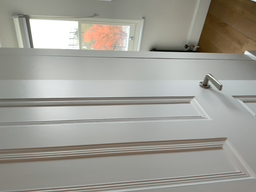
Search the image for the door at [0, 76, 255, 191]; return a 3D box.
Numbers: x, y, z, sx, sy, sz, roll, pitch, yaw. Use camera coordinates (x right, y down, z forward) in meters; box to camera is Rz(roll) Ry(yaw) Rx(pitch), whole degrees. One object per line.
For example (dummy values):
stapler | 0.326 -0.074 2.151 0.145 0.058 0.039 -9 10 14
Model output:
door | 0.270 0.110 0.790 0.770 1.980 0.020 -108 20 -55
